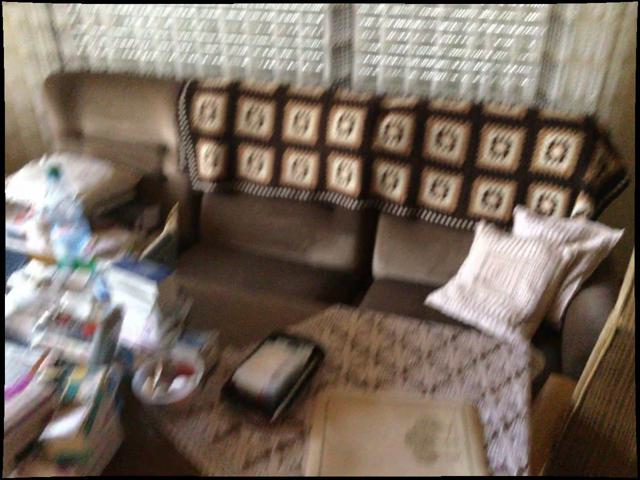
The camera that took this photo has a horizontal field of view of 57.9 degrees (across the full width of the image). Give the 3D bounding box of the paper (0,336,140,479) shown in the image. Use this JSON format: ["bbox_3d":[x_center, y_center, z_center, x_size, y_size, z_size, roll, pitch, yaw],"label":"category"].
[{"bbox_3d":[-0.450,0.300,0.940,0.220,0.170,0.220,2,32,3],"label":"paper"}]
